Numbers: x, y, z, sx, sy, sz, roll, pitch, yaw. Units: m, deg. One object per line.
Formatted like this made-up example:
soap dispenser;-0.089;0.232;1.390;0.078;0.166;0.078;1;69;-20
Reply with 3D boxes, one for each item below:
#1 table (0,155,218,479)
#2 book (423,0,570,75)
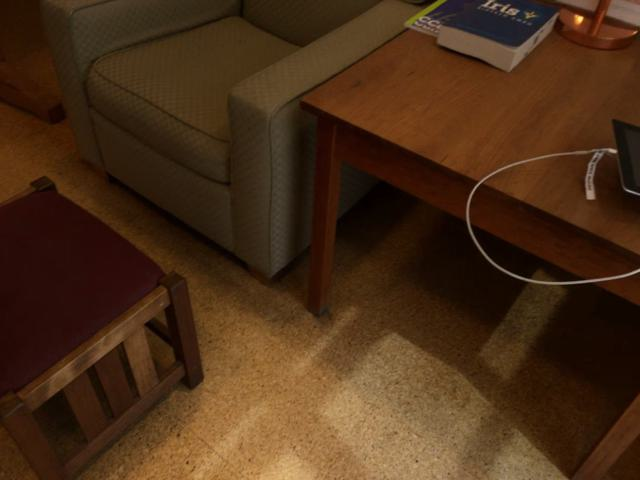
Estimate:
table;-0.560;0.170;1.230;0.510;0.380;0.420;32;50;24
book;0.390;-0.480;1.270;0.200;0.070;0.280;31;50;23
